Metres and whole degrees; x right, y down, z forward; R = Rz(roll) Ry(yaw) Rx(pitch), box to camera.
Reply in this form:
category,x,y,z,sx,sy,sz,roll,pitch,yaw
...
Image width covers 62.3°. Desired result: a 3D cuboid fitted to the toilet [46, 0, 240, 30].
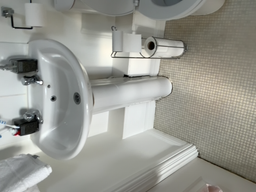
category,x,y,z,sx,sy,sz,roll,pitch,yaw
toilet,0.110,-0.580,1.070,0.640,0.780,0.370,18,109,40

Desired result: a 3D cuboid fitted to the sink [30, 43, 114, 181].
category,x,y,z,sx,sy,sz,roll,pitch,yaw
sink,-0.290,0.040,1.010,0.410,0.170,0.530,19,110,40
